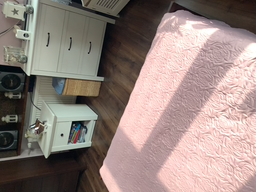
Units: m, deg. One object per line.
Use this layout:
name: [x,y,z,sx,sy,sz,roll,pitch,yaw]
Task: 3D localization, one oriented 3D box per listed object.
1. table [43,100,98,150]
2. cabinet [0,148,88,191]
table: [-0.800,0.370,2.930,0.490,0.520,0.480,30,112,48]
cabinet: [-1.240,1.260,2.960,0.470,1.140,0.770,30,112,48]
